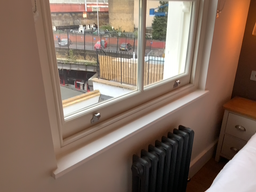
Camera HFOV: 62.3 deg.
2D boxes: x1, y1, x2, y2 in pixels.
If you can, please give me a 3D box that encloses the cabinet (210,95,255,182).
[{"bbox_3d":[1.020,0.350,1.880,0.350,0.580,0.350,21,30,40],"label":"cabinet"}]
